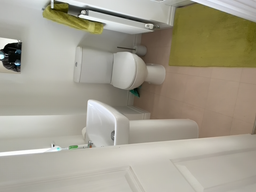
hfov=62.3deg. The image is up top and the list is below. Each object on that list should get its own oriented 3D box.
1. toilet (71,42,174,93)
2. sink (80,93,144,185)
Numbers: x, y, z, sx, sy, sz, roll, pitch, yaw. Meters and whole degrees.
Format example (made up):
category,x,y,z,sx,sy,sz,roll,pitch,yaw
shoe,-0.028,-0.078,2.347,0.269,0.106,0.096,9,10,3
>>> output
category,x,y,z,sx,sy,sz,roll,pitch,yaw
toilet,-0.090,-0.280,2.130,0.690,0.770,0.370,19,106,59
sink,-0.140,0.240,1.430,0.540,0.180,0.420,22,108,59
